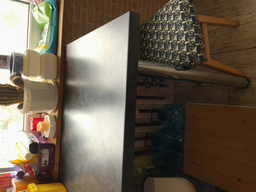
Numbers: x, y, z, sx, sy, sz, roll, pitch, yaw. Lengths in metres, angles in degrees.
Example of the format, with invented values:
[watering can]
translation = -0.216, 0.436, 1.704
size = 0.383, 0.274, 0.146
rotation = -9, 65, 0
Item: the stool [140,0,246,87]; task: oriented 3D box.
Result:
[stool]
translation = 0.360, -0.250, 1.190
size = 0.330, 0.460, 0.320
rotation = -12, 78, 54
